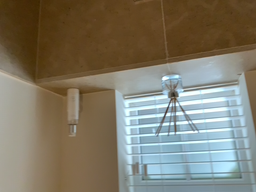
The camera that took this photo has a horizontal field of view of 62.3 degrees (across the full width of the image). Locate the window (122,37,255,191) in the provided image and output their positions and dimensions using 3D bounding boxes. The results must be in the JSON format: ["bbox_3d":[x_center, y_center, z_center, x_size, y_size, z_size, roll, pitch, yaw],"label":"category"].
[{"bbox_3d":[0.280,0.370,0.950,0.540,1.210,0.160,-7,165,16],"label":"window"}]
